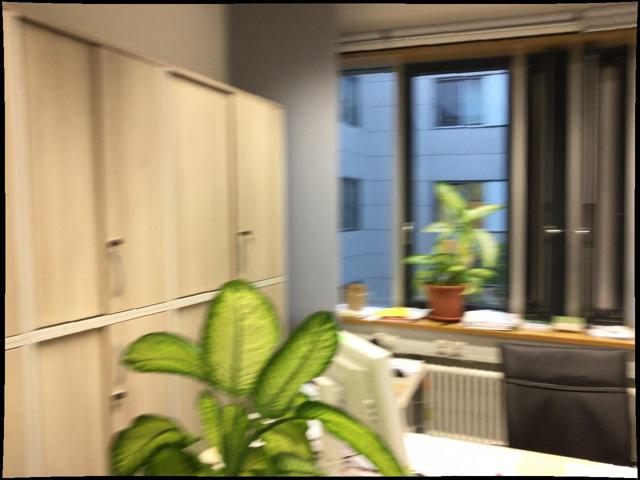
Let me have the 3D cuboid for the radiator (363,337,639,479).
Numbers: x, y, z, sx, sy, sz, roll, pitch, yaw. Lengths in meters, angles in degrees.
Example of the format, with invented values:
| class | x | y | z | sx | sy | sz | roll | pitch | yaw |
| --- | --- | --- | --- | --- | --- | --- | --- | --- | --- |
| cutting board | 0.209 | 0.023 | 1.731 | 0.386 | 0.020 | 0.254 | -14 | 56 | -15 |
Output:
| class | x | y | z | sx | sy | sz | roll | pitch | yaw |
| --- | --- | --- | --- | --- | --- | --- | --- | --- | --- |
| radiator | 1.528 | 1.051 | 3.000 | 2.498 | 0.621 | 0.620 | 5 | 6 | 19 |

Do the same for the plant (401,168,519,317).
| class | x | y | z | sx | sy | sz | roll | pitch | yaw |
| --- | --- | --- | --- | --- | --- | --- | --- | --- | --- |
| plant | 0.909 | -0.010 | 3.730 | 0.629 | 0.851 | 0.480 | 5 | 6 | 19 |

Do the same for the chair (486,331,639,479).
| class | x | y | z | sx | sy | sz | roll | pitch | yaw |
| --- | --- | --- | --- | --- | --- | --- | --- | --- | --- |
| chair | 1.019 | 0.951 | 2.300 | 0.669 | 0.981 | 0.560 | 5 | 6 | 19 |

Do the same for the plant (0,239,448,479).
| class | x | y | z | sx | sy | sz | roll | pitch | yaw |
| --- | --- | --- | --- | --- | --- | --- | --- | --- | --- |
| plant | -0.200 | 0.781 | 1.620 | 0.869 | 1.431 | 0.990 | 5 | 6 | 19 |
